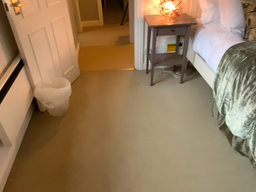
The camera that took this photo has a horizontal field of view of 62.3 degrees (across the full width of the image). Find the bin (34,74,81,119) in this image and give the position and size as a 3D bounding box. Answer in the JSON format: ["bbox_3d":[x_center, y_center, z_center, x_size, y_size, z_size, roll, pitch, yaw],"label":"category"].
[{"bbox_3d":[-0.650,0.000,2.030,0.290,0.280,0.330,0,37,2],"label":"bin"}]

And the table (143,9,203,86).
[{"bbox_3d":[0.460,-0.550,2.400,0.490,0.690,0.450,-6,37,-5],"label":"table"}]
